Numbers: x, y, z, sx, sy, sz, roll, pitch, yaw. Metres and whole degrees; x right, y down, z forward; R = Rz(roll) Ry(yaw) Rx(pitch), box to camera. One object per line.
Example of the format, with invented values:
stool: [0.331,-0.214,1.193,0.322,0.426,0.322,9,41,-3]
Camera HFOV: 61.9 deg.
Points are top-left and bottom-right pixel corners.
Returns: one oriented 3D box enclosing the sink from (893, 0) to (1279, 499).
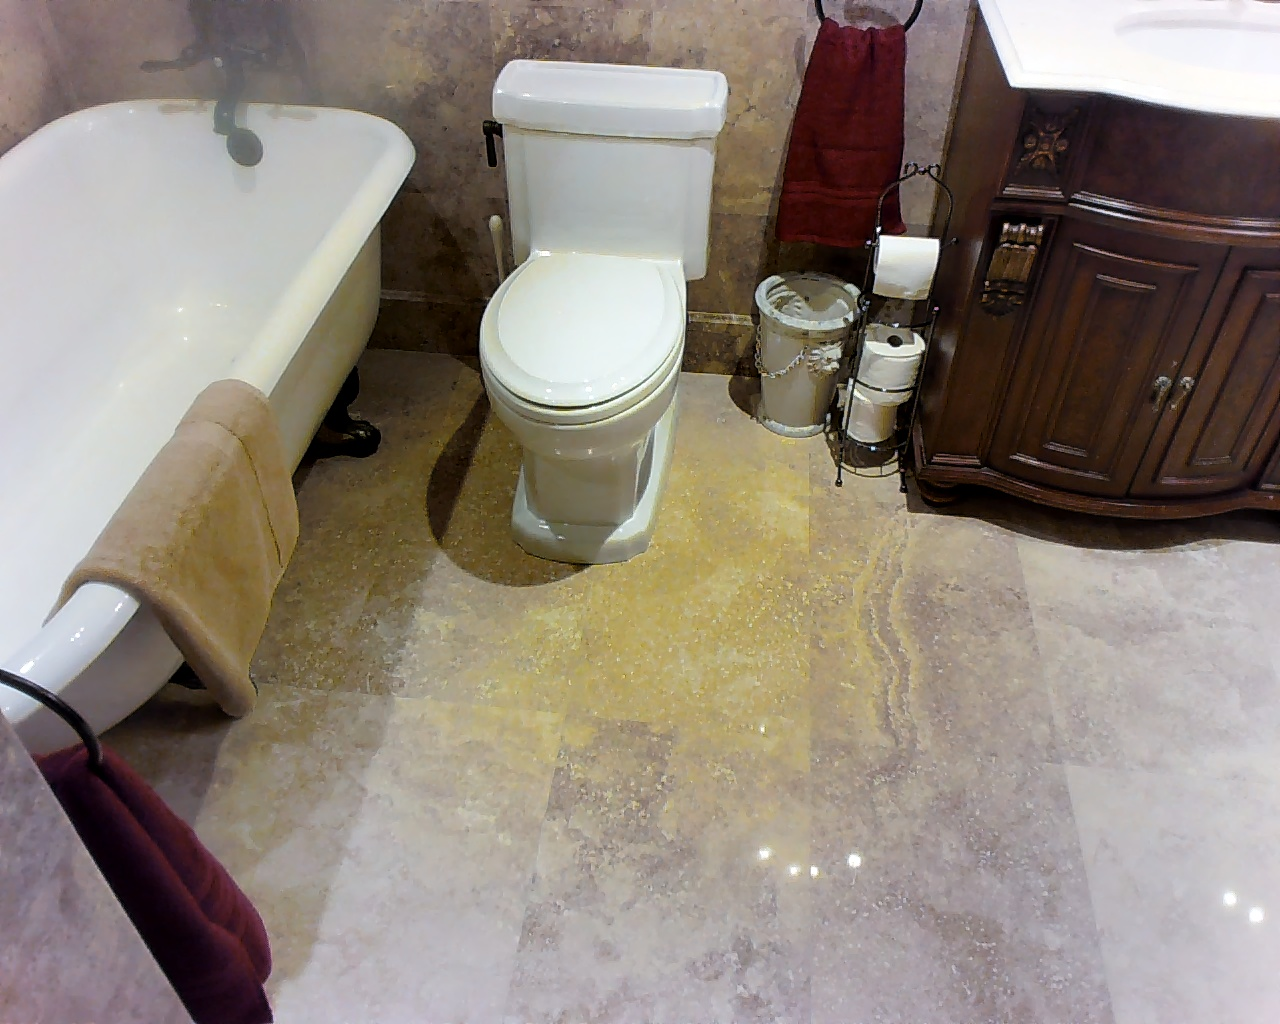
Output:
sink: [0.950,-0.490,1.910,0.830,0.710,0.550,5,42,4]
